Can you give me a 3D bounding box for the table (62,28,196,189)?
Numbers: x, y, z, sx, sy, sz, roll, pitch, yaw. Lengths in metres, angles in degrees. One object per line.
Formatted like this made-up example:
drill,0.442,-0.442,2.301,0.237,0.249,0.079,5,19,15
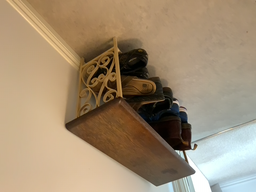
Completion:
table,0.050,0.120,1.130,0.270,0.460,0.770,-25,134,18
